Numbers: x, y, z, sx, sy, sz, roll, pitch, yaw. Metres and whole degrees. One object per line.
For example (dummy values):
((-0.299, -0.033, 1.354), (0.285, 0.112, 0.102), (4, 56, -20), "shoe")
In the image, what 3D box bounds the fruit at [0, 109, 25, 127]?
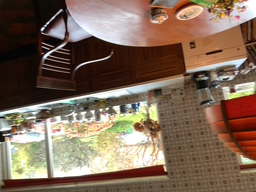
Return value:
((-1.770, 0.350, 3.270), (0.300, 0.200, 0.500), (-4, 171, -27), "fruit")

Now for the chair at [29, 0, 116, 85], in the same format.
((-0.510, -0.590, 1.900), (0.520, 0.870, 0.460), (-15, 170, 40), "chair")

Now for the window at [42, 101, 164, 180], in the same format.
((-0.440, 0.690, 3.160), (1.800, 0.940, 0.090), (-10, 172, 15), "window")
